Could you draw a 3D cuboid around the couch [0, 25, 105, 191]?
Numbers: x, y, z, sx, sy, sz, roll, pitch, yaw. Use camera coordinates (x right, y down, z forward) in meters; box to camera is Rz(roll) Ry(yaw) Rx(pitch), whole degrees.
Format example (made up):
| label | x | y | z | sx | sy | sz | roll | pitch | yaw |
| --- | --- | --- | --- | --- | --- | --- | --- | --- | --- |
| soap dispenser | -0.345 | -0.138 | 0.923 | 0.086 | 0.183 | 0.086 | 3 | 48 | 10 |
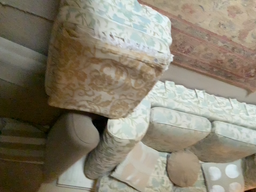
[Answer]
| label | x | y | z | sx | sy | sz | roll | pitch | yaw |
| --- | --- | --- | --- | --- | --- | --- | --- | --- | --- |
| couch | -1.030 | 0.150 | 1.610 | 1.330 | 0.840 | 1.020 | 21 | 138 | -23 |
